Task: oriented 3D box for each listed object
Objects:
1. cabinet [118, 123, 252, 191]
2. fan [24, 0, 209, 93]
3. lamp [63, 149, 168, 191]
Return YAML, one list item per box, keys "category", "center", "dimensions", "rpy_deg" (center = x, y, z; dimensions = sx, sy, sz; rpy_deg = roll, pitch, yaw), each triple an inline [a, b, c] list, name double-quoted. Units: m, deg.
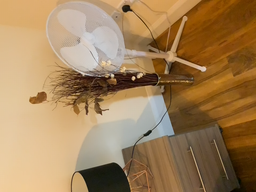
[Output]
- category: "cabinet"
  center: [0.340, 0.450, 1.320]
  dimensions: [0.470, 0.560, 0.390]
  rpy_deg: [-33, 67, 48]
- category: "fan"
  center: [-0.020, -0.320, 1.320]
  dimensions: [0.400, 1.030, 0.460]
  rpy_deg: [-29, 69, 49]
- category: "lamp"
  center: [-0.060, 0.450, 1.050]
  dimensions: [0.290, 0.390, 0.250]
  rpy_deg: [-31, 68, 48]
